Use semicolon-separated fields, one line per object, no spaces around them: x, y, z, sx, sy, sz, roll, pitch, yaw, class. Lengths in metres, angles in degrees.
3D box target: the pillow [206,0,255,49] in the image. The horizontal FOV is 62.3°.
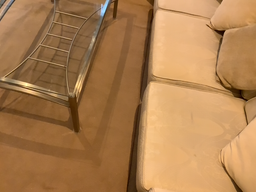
0.730;-0.580;1.410;0.170;0.340;0.440;-28;85;11;pillow
